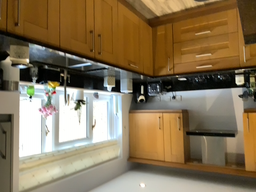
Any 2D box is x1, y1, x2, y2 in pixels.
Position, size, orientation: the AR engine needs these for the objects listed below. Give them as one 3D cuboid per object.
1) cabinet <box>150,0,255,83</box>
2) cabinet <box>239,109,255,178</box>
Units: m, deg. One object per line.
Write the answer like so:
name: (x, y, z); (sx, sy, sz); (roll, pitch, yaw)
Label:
cabinet: (1.080, -0.720, 2.950); (1.390, 0.910, 0.600); (-3, 176, 32)
cabinet: (1.620, 0.580, 2.700); (0.300, 0.820, 0.340); (-3, 176, 32)
